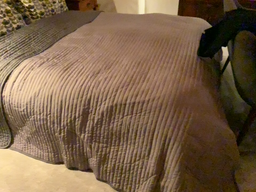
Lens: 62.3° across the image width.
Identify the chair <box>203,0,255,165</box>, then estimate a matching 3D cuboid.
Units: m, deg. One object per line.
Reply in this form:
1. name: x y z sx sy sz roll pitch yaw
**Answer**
1. chair: 1.010 -0.250 1.610 0.650 0.800 1.300 9 37 16
